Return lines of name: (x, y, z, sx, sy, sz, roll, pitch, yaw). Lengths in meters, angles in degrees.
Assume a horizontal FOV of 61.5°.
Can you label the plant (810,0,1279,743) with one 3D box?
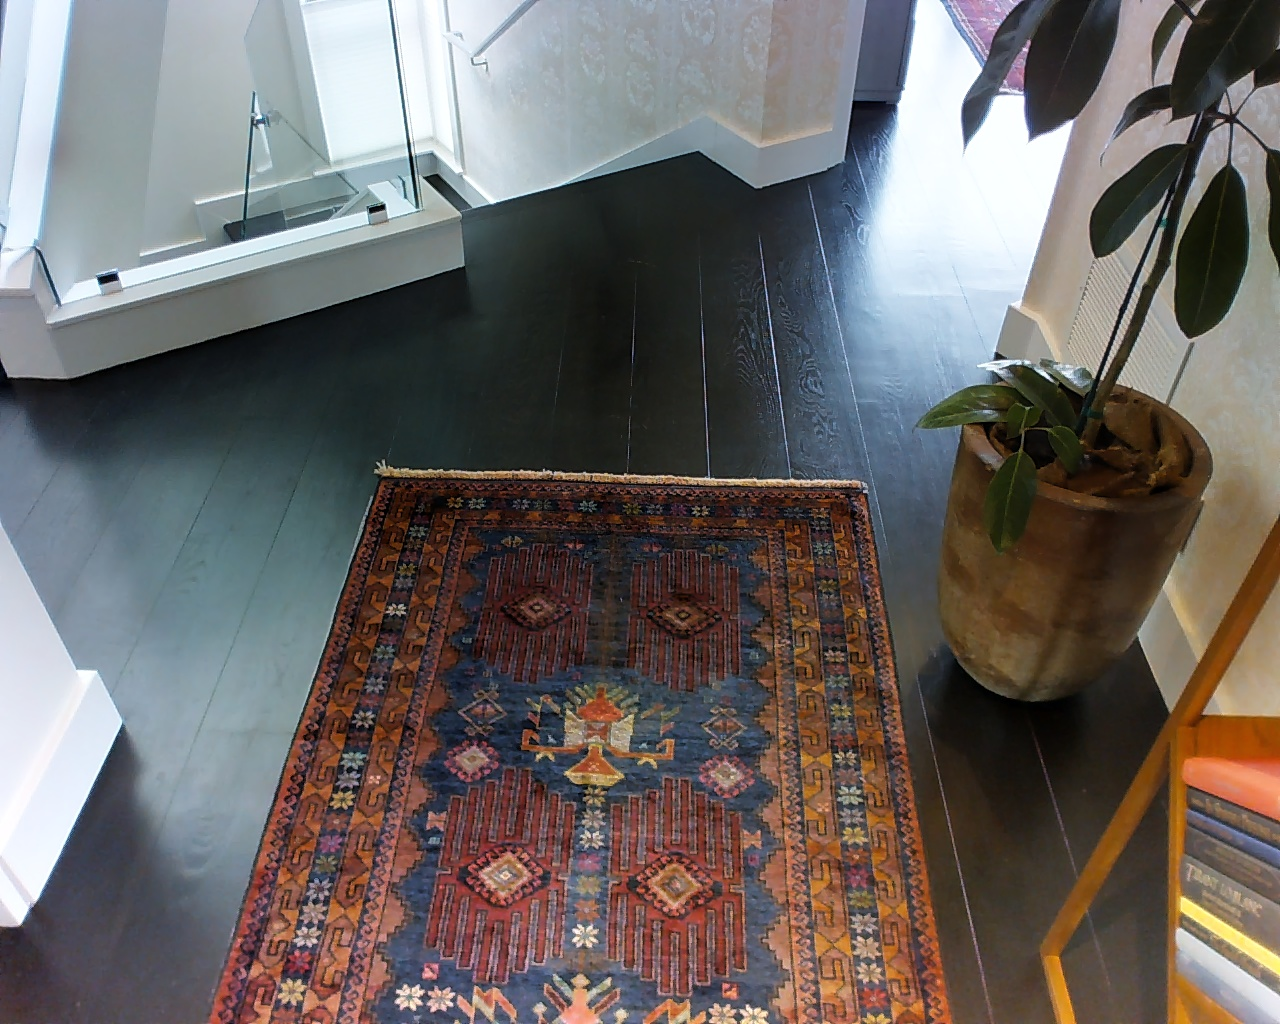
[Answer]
plant: (0.670, -0.450, 1.560, 0.600, 1.660, 0.690, 1, 42, 1)
